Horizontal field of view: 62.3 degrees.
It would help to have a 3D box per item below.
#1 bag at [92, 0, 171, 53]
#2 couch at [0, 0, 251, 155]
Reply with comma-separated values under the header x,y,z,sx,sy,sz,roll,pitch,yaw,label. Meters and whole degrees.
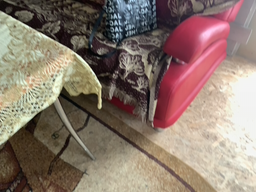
x,y,z,sx,sy,sz,roll,pitch,yaw,label
0.020,-0.450,1.250,0.340,0.150,0.290,28,54,22,bag
-0.240,-0.720,1.580,1.880,0.880,1.160,30,55,23,couch
